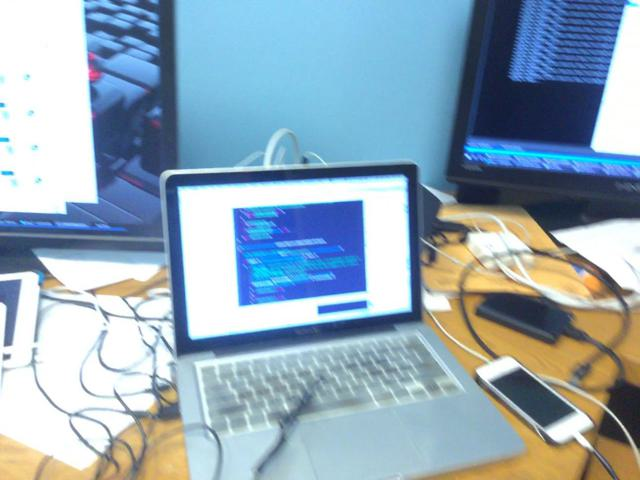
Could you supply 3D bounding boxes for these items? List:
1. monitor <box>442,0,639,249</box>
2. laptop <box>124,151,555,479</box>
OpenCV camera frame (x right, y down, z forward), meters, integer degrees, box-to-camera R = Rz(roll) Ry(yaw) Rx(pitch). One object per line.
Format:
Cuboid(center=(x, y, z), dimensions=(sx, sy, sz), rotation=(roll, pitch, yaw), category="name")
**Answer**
Cuboid(center=(0.540, -0.200, 0.930), dimensions=(0.630, 0.420, 0.110), rotation=(6, 25, 11), category="monitor")
Cuboid(center=(-0.010, 0.080, 0.630), dimensions=(0.330, 0.260, 0.330), rotation=(-4, 25, -11), category="laptop")
